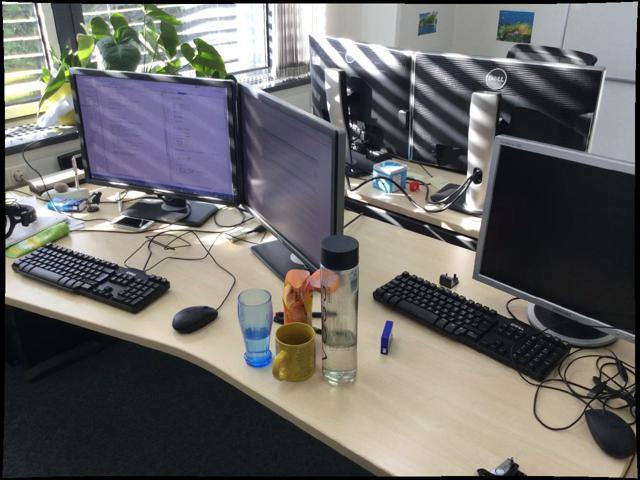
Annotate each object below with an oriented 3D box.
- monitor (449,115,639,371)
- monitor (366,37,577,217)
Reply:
[{"bbox_3d":[0.529,0.000,1.230,0.480,0.430,0.090,22,36,36],"label":"monitor"},{"bbox_3d":[0.420,-0.350,1.720,0.540,0.420,0.160,17,33,29],"label":"monitor"}]
